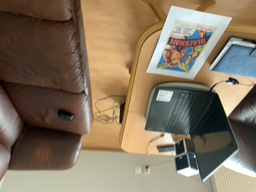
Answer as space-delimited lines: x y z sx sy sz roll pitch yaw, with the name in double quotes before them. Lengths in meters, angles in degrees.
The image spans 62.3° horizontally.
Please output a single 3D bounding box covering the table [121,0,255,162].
"table" 0.300 -0.130 1.290 0.560 0.660 1.050 5 142 -6
